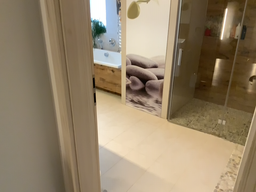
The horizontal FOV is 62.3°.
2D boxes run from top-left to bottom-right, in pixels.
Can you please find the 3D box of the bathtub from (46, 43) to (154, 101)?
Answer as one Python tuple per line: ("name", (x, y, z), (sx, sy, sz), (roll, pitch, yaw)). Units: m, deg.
("bathtub", (-0.620, -0.600, 4.310), (2.060, 0.590, 0.900), (18, 29, 33))
